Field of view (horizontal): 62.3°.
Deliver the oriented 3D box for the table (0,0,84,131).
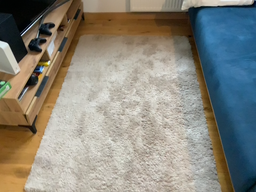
[{"bbox_3d":[-0.770,-0.480,1.930,0.380,0.400,1.600,1,49,3],"label":"table"}]
